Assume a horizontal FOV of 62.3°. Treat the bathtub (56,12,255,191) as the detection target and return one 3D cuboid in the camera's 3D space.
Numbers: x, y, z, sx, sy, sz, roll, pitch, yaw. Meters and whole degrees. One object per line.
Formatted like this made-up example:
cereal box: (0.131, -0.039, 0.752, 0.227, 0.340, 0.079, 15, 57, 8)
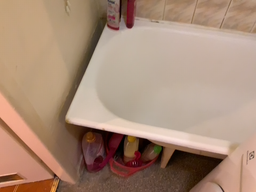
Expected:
bathtub: (0.470, 0.100, 1.180, 1.380, 0.610, 0.700, 10, 56, 6)
